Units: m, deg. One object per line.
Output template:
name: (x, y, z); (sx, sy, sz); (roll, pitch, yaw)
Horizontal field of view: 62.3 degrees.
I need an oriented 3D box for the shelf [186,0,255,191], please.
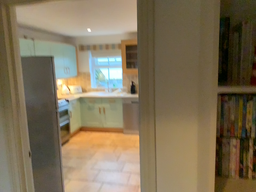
shelf: (0.480, 0.470, 0.930); (0.410, 1.980, 0.390); (0, 9, 11)
